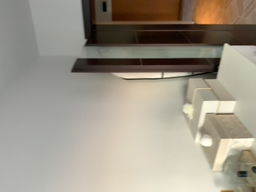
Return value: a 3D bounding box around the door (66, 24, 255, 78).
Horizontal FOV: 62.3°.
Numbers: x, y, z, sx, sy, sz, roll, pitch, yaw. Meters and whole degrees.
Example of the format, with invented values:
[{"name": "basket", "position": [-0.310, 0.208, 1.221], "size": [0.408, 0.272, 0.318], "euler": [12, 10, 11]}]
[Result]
[{"name": "door", "position": [0.710, -0.390, 1.660], "size": [0.840, 2.160, 0.150], "euler": [-93, 3, -60]}]
